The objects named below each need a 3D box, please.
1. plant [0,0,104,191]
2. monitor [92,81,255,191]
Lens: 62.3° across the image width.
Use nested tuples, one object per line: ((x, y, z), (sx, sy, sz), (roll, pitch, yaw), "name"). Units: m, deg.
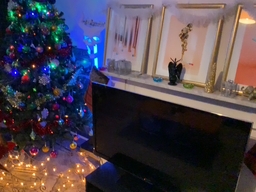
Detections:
((-0.940, -0.290, 2.230), (0.920, 2.120, 0.990), (15, 21, 31), "plant")
((0.170, 0.340, 1.460), (1.110, 0.660, 0.040), (18, 25, 32), "monitor")
